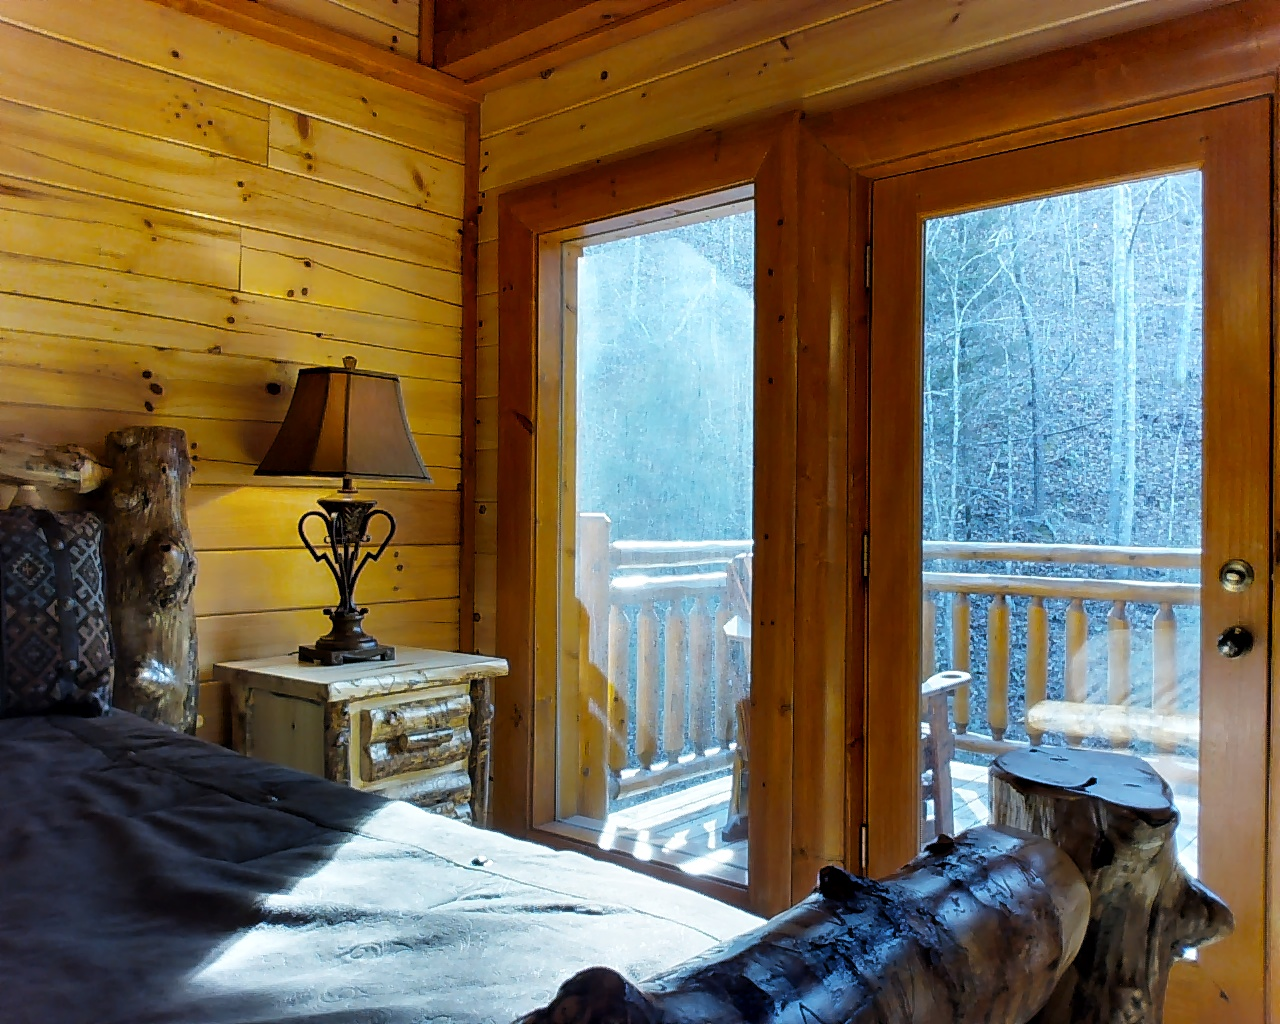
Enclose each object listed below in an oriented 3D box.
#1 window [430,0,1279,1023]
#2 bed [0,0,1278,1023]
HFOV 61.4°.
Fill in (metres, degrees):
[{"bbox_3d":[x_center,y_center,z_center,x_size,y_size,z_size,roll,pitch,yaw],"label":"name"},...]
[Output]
[{"bbox_3d":[0.870,0.040,2.420,3.829,2.251,0.360,1,1,41],"label":"window"},{"bbox_3d":[-1.090,0.370,1.090,2.589,1.581,2.450,1,1,41],"label":"bed"}]
